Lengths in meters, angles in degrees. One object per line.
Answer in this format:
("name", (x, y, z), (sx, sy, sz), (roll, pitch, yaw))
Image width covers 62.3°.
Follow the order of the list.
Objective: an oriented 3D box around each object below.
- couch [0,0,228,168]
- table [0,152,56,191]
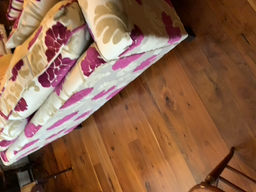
("couch", (-0.540, -0.310, 1.550), (1.830, 0.890, 1.090), (-36, 71, 42))
("table", (-1.500, 1.370, 2.900), (0.690, 0.730, 0.850), (-37, 71, 42))
